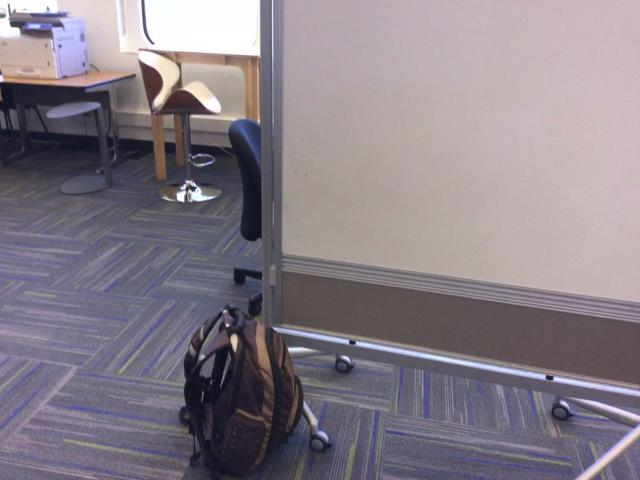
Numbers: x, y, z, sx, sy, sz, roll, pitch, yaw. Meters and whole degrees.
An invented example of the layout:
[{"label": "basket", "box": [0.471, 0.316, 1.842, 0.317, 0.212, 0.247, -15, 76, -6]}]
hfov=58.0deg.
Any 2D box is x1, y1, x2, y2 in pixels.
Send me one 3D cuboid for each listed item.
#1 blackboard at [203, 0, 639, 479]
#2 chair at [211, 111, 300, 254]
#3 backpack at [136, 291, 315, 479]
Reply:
[{"label": "blackboard", "box": [0.430, -0.050, 1.770, 1.360, 1.510, 0.610, 5, 20, 11]}, {"label": "chair", "box": [-0.280, -0.280, 2.660, 0.270, 0.550, 0.440, 5, 20, 11]}, {"label": "backpack", "box": [-0.270, 0.470, 1.830, 0.430, 0.460, 0.380, 5, 20, 11]}]
